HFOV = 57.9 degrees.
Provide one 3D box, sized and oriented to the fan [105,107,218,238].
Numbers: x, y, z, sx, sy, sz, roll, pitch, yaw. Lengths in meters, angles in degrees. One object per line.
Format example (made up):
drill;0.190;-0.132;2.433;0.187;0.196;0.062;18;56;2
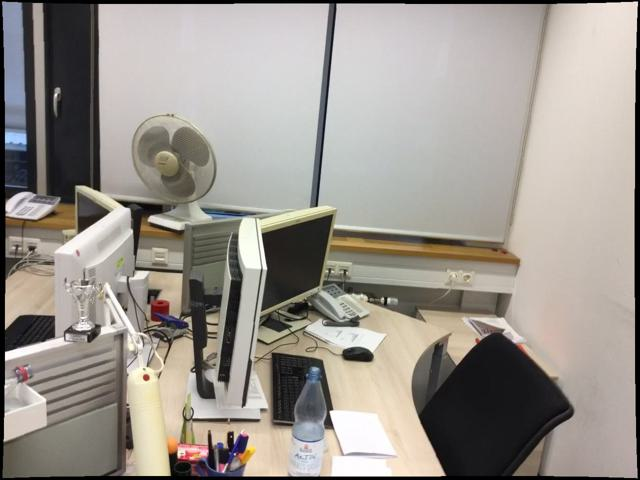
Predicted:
fan;-0.769;-0.350;2.870;0.410;0.571;0.350;7;16;11

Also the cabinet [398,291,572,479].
cabinet;0.719;0.681;2.770;0.490;0.581;0.860;3;16;-3
